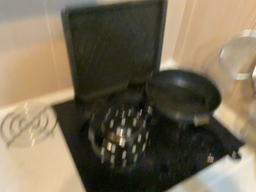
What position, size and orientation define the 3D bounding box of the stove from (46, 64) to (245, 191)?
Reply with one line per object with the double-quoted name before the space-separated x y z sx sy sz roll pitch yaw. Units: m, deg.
"stove" 0.050 0.090 0.870 0.610 0.030 0.550 -18 47 -25
